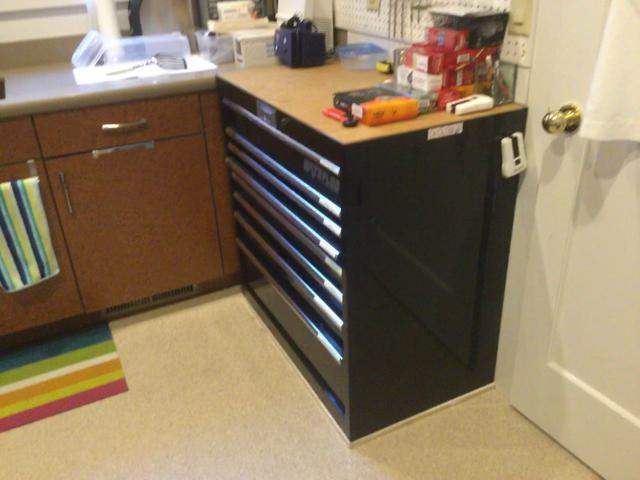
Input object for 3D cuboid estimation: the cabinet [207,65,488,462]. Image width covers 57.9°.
[{"bbox_3d":[0.020,-0.010,1.840,0.380,0.900,0.920,-15,29,-25],"label":"cabinet"}]
